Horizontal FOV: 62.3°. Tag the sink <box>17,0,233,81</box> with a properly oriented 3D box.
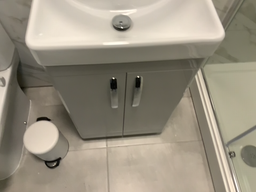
[{"bbox_3d":[-0.020,-0.280,0.670,0.520,0.150,0.420,-4,63,-5],"label":"sink"}]
